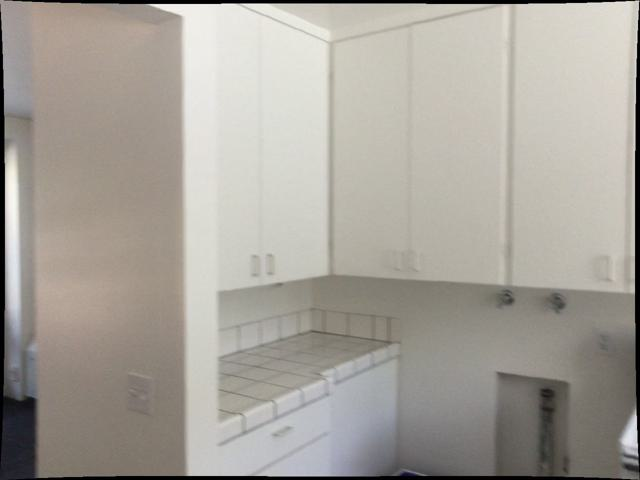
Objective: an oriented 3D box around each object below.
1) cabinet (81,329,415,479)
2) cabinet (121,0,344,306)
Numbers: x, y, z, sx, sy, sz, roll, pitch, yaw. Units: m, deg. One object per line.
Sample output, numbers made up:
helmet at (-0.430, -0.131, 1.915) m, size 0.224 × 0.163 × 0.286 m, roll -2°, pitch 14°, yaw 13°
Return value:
cabinet at (-0.190, 1.002, 2.450) m, size 0.609 × 0.972 × 1.359 m, roll -1°, pitch 2°, yaw 36°
cabinet at (-0.270, -0.371, 2.230) m, size 0.140 × 1.112 × 1.009 m, roll -1°, pitch 2°, yaw 36°
